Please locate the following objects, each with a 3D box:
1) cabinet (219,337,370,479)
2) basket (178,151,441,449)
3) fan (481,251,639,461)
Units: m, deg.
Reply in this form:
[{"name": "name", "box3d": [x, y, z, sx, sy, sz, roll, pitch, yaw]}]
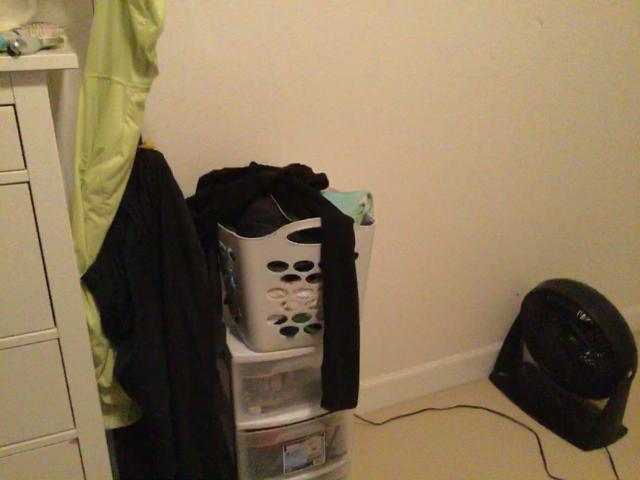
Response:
[{"name": "cabinet", "box3d": [-0.070, 0.560, 1.580, 0.350, 0.500, 0.180, -7, 21, -23]}, {"name": "basket", "box3d": [-0.050, 0.100, 1.440, 0.480, 0.540, 0.440, -7, 21, -23]}, {"name": "fan", "box3d": [0.890, 0.370, 2.030, 0.340, 0.490, 0.500, -7, 21, -23]}]
